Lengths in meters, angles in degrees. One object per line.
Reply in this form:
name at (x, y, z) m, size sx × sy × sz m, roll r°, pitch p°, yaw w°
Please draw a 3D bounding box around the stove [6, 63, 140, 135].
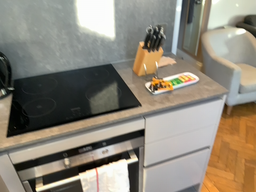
stove at (-0.300, -0.030, 1.140) m, size 0.590 × 0.010 × 0.490 m, roll -12°, pitch 35°, yaw -16°
